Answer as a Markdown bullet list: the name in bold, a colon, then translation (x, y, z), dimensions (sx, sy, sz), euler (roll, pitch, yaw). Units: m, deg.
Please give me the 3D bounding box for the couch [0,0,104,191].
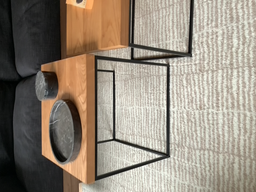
- **couch**: translation (-0.750, -0.150, 1.560), dimensions (0.830, 0.750, 1.990), euler (-2, 90, 49)
